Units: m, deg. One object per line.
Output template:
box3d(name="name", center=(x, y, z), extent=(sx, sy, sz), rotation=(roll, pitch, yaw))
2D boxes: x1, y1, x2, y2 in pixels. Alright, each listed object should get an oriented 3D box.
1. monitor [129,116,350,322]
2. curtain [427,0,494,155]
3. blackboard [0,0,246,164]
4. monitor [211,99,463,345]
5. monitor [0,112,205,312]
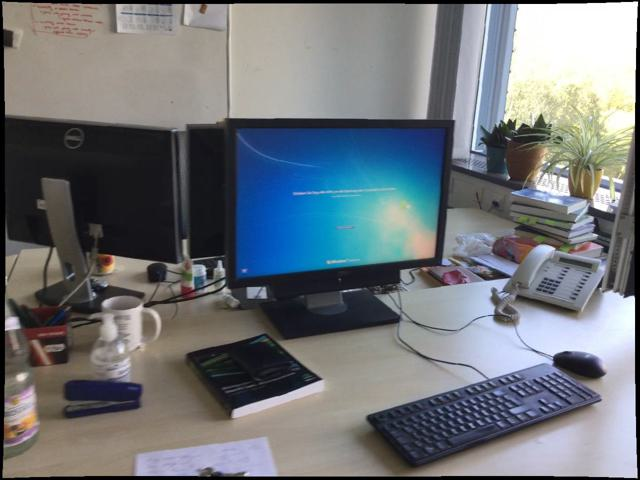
box3d(name="monitor", center=(-0.200, -0.070, 1.560), extent=(0.550, 0.500, 0.100), rotation=(-6, 13, -18))
box3d(name="curtain", center=(0.739, -1.261, 3.060), extent=(0.160, 1.561, 0.380), rotation=(-8, 18, -18))
box3d(name="blackboard", center=(-1.588, -0.991, 2.540), extent=(2.488, 1.311, 0.120), rotation=(-6, 20, -18))
box3d(name="monitor", center=(0.040, -0.060, 1.400), extent=(0.550, 0.520, 0.170), rotation=(-6, 20, -18))
box3d(name="monitor", center=(-0.609, -0.090, 1.590), extent=(0.510, 0.480, 0.200), rotation=(5, 19, 12))
